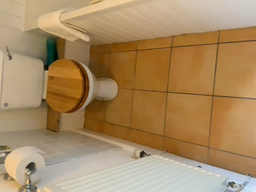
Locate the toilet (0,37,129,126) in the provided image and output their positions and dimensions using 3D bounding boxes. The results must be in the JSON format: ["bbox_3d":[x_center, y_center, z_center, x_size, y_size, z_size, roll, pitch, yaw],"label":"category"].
[{"bbox_3d":[-0.530,-0.090,1.610,0.700,0.780,0.460,6,92,41],"label":"toilet"}]
